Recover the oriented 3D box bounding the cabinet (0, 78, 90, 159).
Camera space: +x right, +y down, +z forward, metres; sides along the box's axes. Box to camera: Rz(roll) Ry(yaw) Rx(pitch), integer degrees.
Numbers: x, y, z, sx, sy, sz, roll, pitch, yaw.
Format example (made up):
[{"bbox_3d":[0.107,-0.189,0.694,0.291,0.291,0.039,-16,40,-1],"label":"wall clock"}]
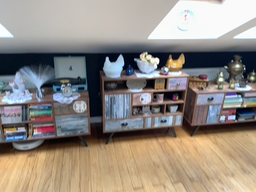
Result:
[{"bbox_3d":[-1.060,0.220,2.360,1.200,0.630,0.590,-3,24,-12],"label":"cabinet"}]
